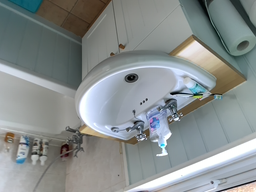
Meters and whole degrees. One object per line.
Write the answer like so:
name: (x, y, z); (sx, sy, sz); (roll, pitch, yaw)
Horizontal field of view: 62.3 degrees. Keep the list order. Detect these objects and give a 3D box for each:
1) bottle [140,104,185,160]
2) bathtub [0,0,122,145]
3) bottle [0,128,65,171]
bottle: (0.140, 0.150, 0.890); (0.110, 0.190, 0.100); (22, 135, -36)
bathtub: (-1.030, -0.250, 1.360); (1.800, 0.540, 0.860); (22, 135, -36)
bottle: (-0.810, 0.410, 1.620); (0.650, 0.240, 0.080); (22, 134, -36)
